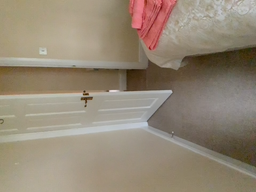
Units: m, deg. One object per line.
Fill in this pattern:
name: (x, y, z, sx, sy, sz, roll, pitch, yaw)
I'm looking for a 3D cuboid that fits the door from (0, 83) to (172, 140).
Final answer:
door: (-0.530, 0.170, 2.340, 0.880, 1.930, 0.060, 118, 142, -48)
